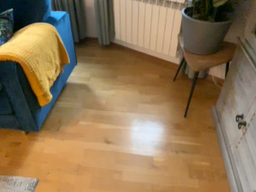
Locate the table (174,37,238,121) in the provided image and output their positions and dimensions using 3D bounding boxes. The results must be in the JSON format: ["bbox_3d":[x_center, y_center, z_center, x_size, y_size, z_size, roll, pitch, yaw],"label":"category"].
[{"bbox_3d":[0.630,-0.160,1.870,0.350,0.520,0.490,6,40,5],"label":"table"}]
